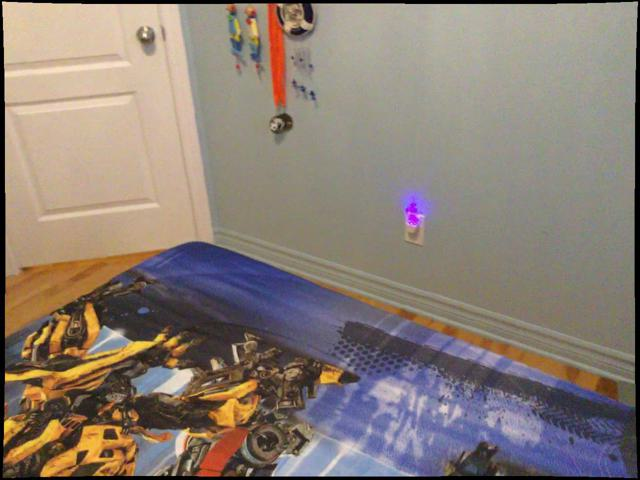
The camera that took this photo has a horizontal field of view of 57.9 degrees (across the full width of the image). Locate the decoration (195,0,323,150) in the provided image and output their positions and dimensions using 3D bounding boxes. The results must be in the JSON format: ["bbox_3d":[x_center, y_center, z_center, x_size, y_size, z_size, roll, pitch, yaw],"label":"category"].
[{"bbox_3d":[-0.220,-0.671,1.990,0.490,0.670,0.030,17,37,30],"label":"decoration"}]
